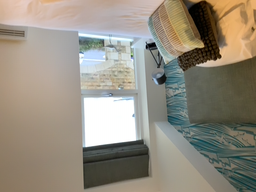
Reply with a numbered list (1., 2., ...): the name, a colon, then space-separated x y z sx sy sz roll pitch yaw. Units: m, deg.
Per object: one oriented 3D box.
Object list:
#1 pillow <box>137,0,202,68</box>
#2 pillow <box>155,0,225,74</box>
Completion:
1. pillow: 0.260 -0.410 1.450 0.120 0.330 0.390 -25 -176 -25
2. pillow: 0.430 -0.410 1.540 0.150 0.410 0.370 -28 -176 -21
